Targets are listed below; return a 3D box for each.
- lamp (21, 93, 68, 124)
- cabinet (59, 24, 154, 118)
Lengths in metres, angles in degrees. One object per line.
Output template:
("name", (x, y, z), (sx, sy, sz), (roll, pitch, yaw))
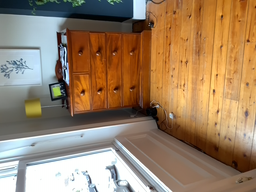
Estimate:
("lamp", (-0.970, 0.130, 2.470), (0.320, 0.470, 0.230), (-151, 60, -62))
("cabinet", (-0.270, -0.320, 2.600), (0.500, 1.000, 0.960), (-152, 61, -62))
